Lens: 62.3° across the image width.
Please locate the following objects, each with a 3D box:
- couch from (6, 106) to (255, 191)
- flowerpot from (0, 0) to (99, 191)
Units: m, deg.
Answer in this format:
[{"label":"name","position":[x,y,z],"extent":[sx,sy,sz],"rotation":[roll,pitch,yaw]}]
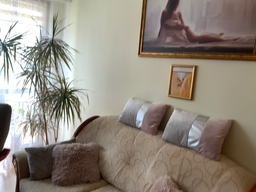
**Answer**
[{"label":"couch","position":[-0.100,0.770,1.660],"extent":[1.020,0.910,1.960],"rotation":[-2,12,-44]},{"label":"flowerpot","position":[-1.020,-0.050,2.590],"extent":[0.890,1.900,0.990],"rotation":[8,9,10]}]
